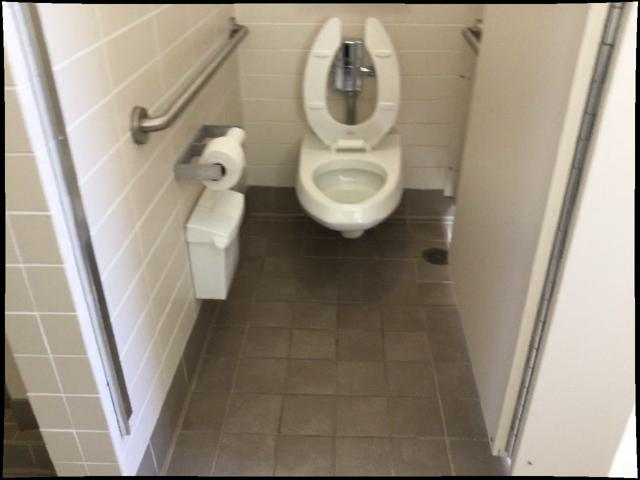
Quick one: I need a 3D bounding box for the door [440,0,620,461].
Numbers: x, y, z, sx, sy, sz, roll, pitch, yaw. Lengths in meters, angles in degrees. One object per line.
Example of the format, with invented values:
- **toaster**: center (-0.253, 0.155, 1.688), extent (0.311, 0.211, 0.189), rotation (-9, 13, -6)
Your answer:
- **door**: center (0.410, -0.150, 1.390), extent (0.050, 0.971, 0.860), rotation (1, 32, 3)
